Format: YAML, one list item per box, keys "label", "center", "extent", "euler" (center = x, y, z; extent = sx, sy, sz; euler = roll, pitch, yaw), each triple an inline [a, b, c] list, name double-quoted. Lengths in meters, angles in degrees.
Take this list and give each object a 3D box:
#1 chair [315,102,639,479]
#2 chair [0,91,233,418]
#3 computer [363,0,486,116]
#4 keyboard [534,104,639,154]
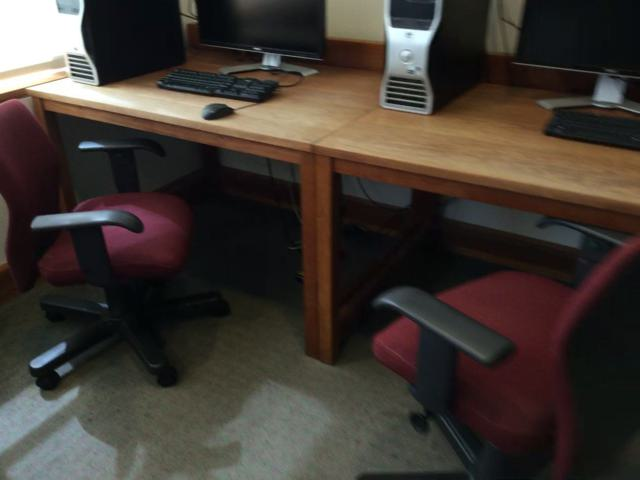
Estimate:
- label: "chair"
  center: [0.430, 0.260, 1.240]
  extent: [0.620, 0.930, 0.590]
  euler: [-20, 33, -39]
- label: "chair"
  center: [-0.660, 0.010, 1.820]
  extent: [0.630, 0.800, 0.610]
  euler: [4, 25, 3]
- label: "computer"
  center: [0.340, -0.670, 1.800]
  extent: [0.210, 0.460, 0.420]
  euler: [16, 28, 27]
- label: "keyboard"
  center: [0.790, -0.280, 1.500]
  extent: [0.410, 0.060, 0.160]
  euler: [16, 28, 27]
